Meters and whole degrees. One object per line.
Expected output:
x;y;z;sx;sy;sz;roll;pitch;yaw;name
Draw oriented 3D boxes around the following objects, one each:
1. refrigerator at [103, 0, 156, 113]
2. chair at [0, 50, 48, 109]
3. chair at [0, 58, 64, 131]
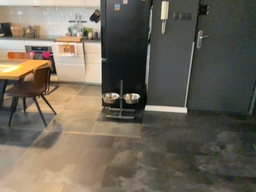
0.030;-0.810;3.180;0.680;2.010;0.650;4;21;5;refrigerator
-1.710;-0.290;3.400;0.510;0.770;0.610;4;21;6;chair
-1.230;-0.040;2.770;0.560;0.800;0.490;3;21;4;chair
